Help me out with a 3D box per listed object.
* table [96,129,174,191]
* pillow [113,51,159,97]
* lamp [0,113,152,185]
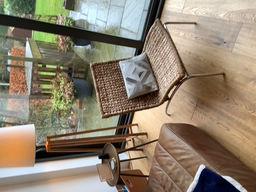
[{"bbox_3d":[0.060,0.650,2.200,0.420,0.600,0.420,44,125,51],"label":"table"},{"bbox_3d":[0.080,-0.220,1.970,0.100,0.260,0.430,-39,79,32],"label":"pillow"},{"bbox_3d":[-0.540,0.490,2.240,0.380,1.550,0.460,45,126,50],"label":"lamp"}]
